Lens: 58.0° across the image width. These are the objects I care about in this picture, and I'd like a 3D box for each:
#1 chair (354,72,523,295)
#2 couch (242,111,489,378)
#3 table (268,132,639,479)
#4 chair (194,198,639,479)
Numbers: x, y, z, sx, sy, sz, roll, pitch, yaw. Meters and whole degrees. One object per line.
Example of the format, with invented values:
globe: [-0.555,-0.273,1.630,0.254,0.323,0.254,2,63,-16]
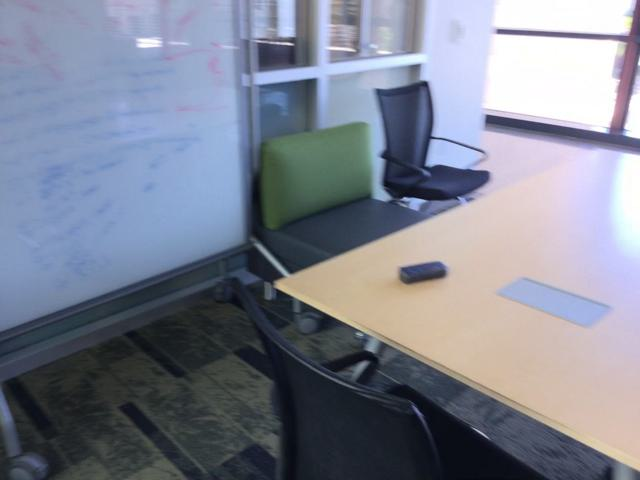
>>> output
chair: [0.590,-0.330,3.000,0.530,0.960,0.610,-21,29,-37]
couch: [0.200,-0.050,2.550,0.730,0.840,0.710,-21,29,-37]
table: [0.970,0.280,1.830,1.920,0.760,1.130,-21,29,-37]
chair: [0.200,0.480,1.170,0.600,0.910,0.570,-18,27,-32]
